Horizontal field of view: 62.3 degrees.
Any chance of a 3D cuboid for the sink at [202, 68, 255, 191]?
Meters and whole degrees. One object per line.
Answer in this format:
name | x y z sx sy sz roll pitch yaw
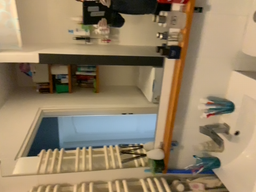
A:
sink | 0.610 0.210 1.060 0.400 0.170 0.610 -114 26 -65
